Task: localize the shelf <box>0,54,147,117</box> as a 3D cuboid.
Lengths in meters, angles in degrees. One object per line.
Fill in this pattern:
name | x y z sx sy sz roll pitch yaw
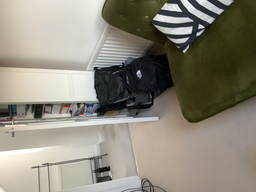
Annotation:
shelf | -0.820 -0.080 2.180 0.530 1.990 0.420 -39 56 58
